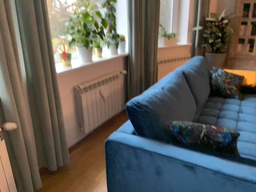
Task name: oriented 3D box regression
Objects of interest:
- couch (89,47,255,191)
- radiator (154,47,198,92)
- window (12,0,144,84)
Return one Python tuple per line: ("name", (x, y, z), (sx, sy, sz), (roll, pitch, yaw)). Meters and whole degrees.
("couch", (0.830, 0.120, 2.190), (1.080, 0.920, 2.430), (10, 22, 28))
("radiator", (0.920, -0.520, 4.070), (0.840, 0.760, 0.180), (-10, 22, -26))
("window", (-0.390, -1.230, 2.300), (0.480, 1.810, 1.620), (10, 22, 28))
